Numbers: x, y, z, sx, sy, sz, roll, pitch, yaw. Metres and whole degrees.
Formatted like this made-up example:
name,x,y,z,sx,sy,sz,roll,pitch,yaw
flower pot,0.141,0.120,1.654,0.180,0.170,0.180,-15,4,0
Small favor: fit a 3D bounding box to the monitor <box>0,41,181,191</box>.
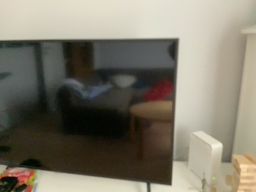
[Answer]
name,x,y,z,sx,sy,sz,roll,pitch,yaw
monitor,-0.330,0.100,1.020,1.100,0.700,0.050,3,15,12
